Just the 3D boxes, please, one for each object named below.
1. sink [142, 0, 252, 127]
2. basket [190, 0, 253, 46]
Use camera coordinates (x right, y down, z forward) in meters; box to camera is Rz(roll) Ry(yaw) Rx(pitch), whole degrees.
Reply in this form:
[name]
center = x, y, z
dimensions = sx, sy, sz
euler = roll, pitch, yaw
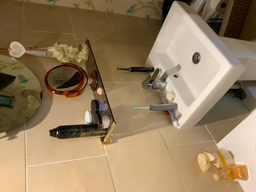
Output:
[sink]
center = 0.290, -0.180, 1.110
dimensions = 0.430, 0.130, 0.520
euler = 115, 144, -44
[basket]
center = 0.700, -0.620, 1.600
dimensions = 0.280, 0.220, 0.400
euler = -131, 45, -53
